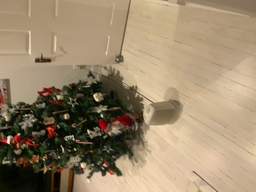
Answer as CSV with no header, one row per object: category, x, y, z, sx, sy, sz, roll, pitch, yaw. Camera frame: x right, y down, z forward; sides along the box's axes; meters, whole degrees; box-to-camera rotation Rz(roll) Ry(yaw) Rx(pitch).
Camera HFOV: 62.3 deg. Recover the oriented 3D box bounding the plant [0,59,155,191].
plant,-0.840,0.350,2.170,1.110,1.690,1.110,40,127,44
